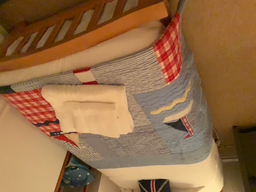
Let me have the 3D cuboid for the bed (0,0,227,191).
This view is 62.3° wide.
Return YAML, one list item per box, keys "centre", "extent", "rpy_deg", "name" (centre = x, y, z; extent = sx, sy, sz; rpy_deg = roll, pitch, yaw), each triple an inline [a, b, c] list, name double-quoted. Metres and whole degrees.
- centre: [0.090, 0.270, 1.690]
  extent: [1.060, 0.540, 2.060]
  rpy_deg: [-10, 138, 24]
  name: "bed"
